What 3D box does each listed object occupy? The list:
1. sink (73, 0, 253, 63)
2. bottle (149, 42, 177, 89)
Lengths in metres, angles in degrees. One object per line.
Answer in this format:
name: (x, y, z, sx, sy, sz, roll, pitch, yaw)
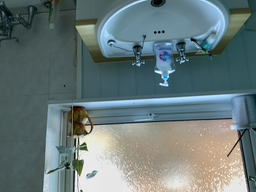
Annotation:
sink: (0.130, -0.340, 0.930, 0.590, 0.170, 0.510, -3, 166, 2)
bottle: (0.160, -0.140, 1.000, 0.100, 0.190, 0.110, -3, 166, 2)
